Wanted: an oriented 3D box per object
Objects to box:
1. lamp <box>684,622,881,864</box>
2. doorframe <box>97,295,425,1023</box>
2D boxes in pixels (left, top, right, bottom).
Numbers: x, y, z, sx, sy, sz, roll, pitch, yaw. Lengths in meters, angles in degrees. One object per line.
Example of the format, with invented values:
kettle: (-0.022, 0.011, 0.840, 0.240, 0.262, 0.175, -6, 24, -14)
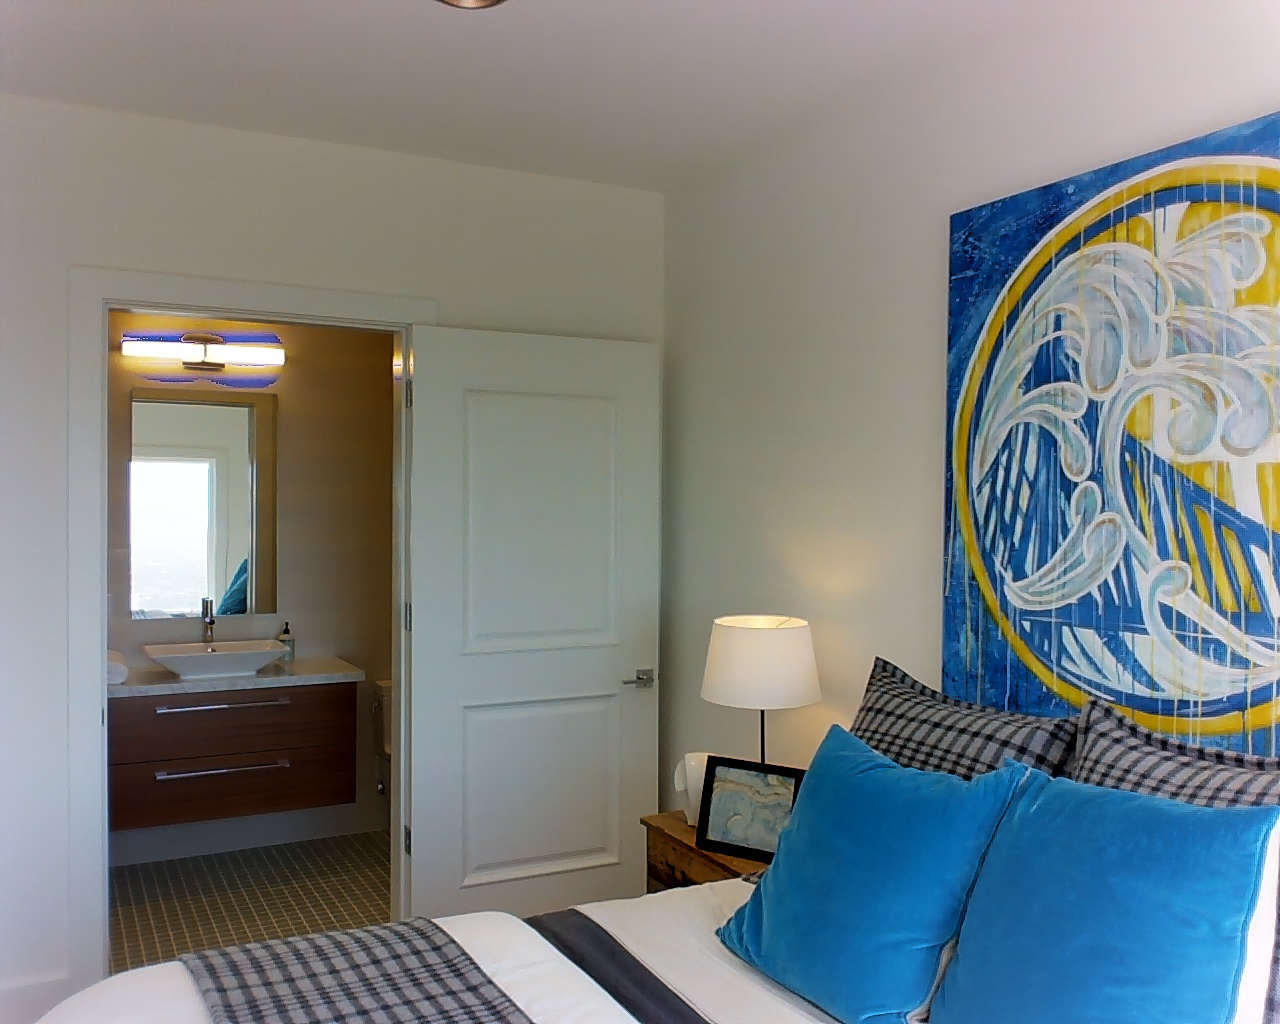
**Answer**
lamp: (0.380, 0.600, 2.920, 0.380, 0.550, 0.370, 1, 0, -28)
doorframe: (-1.210, 0.450, 3.480, 0.960, 2.170, 0.230, 1, 0, -28)
